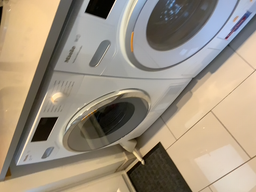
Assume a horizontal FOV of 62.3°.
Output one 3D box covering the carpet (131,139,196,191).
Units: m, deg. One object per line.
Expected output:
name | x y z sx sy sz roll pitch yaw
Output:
carpet | 0.300 0.700 1.360 0.390 0.010 0.750 -54 55 33

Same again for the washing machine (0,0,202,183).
washing machine | -0.230 -0.100 1.230 0.630 0.900 0.700 -53 55 33

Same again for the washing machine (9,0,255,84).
washing machine | 0.070 -0.510 0.900 0.580 0.910 0.690 -53 55 33
